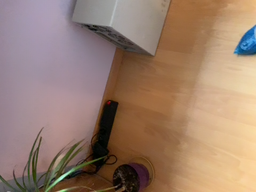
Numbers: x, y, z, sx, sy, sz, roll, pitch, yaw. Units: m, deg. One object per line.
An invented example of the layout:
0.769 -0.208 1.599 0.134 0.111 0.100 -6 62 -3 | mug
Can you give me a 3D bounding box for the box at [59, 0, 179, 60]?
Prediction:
0.020 -0.500 0.970 0.290 0.440 0.520 20 94 29 | box
